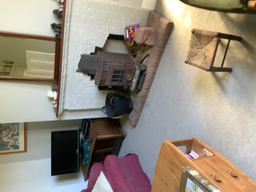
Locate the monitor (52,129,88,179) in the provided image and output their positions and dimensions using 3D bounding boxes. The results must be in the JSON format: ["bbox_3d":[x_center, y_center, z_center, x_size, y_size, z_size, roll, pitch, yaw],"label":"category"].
[{"bbox_3d":[-0.890,0.890,3.300,0.040,0.520,0.690,171,97,-64],"label":"monitor"}]
